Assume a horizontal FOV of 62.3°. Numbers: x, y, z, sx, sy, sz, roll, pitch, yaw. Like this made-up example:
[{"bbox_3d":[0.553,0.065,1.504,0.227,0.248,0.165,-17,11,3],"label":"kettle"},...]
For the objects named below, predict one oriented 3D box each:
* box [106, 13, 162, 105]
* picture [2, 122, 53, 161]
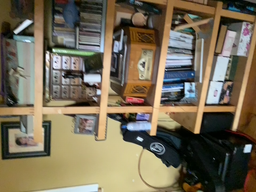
[{"bbox_3d":[0.030,-0.250,1.540,0.230,0.290,0.590,-150,63,-66],"label":"box"},{"bbox_3d":[-0.760,0.340,1.620,0.030,0.340,0.280,-152,64,-66],"label":"picture"}]
